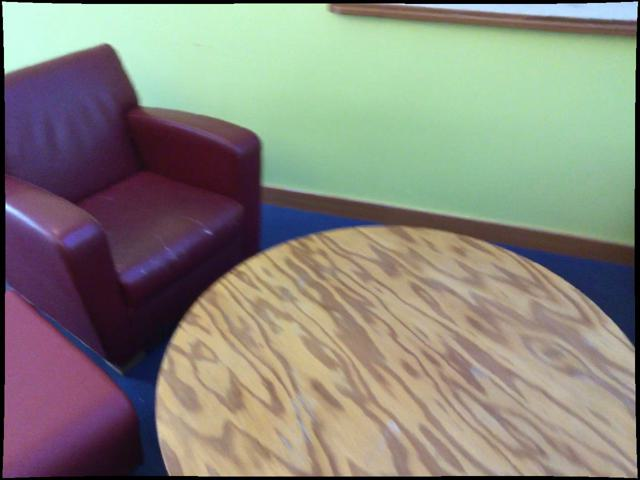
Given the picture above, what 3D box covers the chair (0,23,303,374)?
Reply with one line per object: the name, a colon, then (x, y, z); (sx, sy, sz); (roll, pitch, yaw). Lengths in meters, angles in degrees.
chair: (-0.729, -0.210, 2.090); (0.810, 0.730, 0.860); (19, 55, 37)
